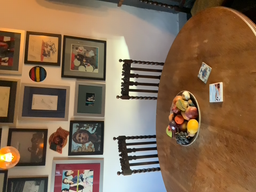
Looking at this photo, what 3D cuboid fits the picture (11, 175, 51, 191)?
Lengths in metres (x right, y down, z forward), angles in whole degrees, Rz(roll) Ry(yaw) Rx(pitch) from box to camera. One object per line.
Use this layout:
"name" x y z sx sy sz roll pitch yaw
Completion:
"picture" -0.940 0.970 2.050 0.020 0.350 0.370 159 113 -72

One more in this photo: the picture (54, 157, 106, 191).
"picture" -0.490 0.900 2.190 0.030 0.520 0.510 156 116 -71

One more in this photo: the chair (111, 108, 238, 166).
"chair" 0.410 0.370 2.030 0.530 1.050 0.440 159 113 -72

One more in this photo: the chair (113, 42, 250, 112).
"chair" 0.450 -0.180 1.990 0.530 1.050 0.440 -122 38 -63
